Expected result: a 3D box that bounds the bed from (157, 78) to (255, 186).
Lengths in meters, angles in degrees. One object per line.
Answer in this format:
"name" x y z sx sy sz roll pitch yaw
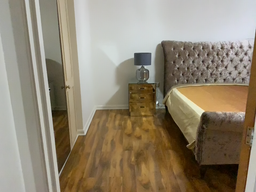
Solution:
"bed" 1.520 0.250 3.220 1.800 0.610 2.540 -1 14 0
